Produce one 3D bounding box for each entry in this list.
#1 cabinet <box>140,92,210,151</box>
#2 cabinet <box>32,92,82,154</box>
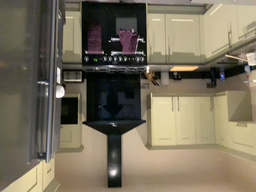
[{"bbox_3d":[0.700,0.380,3.310,0.970,0.850,0.410,0,177,-5],"label":"cabinet"},{"bbox_3d":[-1.030,0.380,3.170,0.620,0.860,0.390,0,177,-5],"label":"cabinet"}]
